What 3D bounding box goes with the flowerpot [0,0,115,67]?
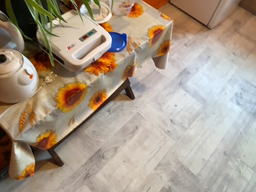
[{"bbox_3d":[-0.360,-0.460,0.830,0.490,0.320,0.390,43,62,17],"label":"flowerpot"}]
